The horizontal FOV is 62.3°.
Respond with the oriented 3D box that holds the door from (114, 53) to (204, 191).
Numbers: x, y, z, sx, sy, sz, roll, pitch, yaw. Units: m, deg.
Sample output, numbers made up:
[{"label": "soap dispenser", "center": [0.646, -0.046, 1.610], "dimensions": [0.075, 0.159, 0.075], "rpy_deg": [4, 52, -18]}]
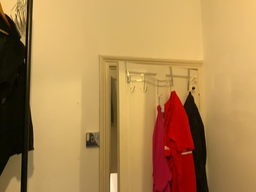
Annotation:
[{"label": "door", "center": [0.250, 0.750, 1.450], "dimensions": [0.730, 2.010, 0.050], "rpy_deg": [1, -4, -30]}]
